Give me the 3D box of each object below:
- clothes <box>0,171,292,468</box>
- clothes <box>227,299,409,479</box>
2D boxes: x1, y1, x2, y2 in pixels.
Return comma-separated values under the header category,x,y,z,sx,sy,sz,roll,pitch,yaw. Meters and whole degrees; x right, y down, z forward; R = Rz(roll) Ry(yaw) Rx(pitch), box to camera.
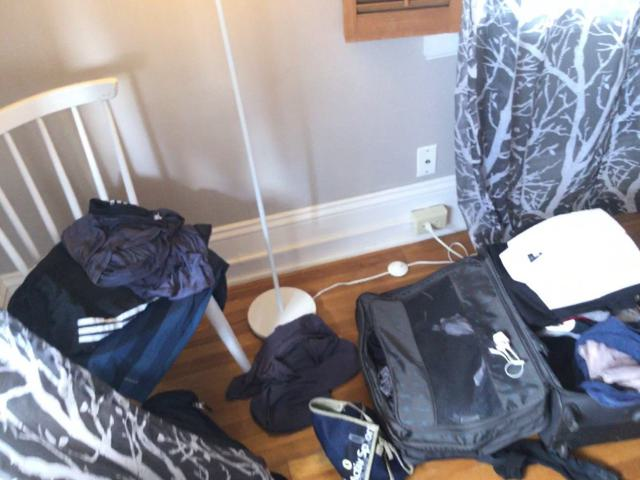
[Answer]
category,x,y,z,sx,sy,sz,roll,pitch,yaw
clothes,-0.440,0.160,1.450,0.530,0.370,0.450,23,47,32
clothes,-0.030,0.420,1.600,0.360,0.080,0.550,-14,39,-9
